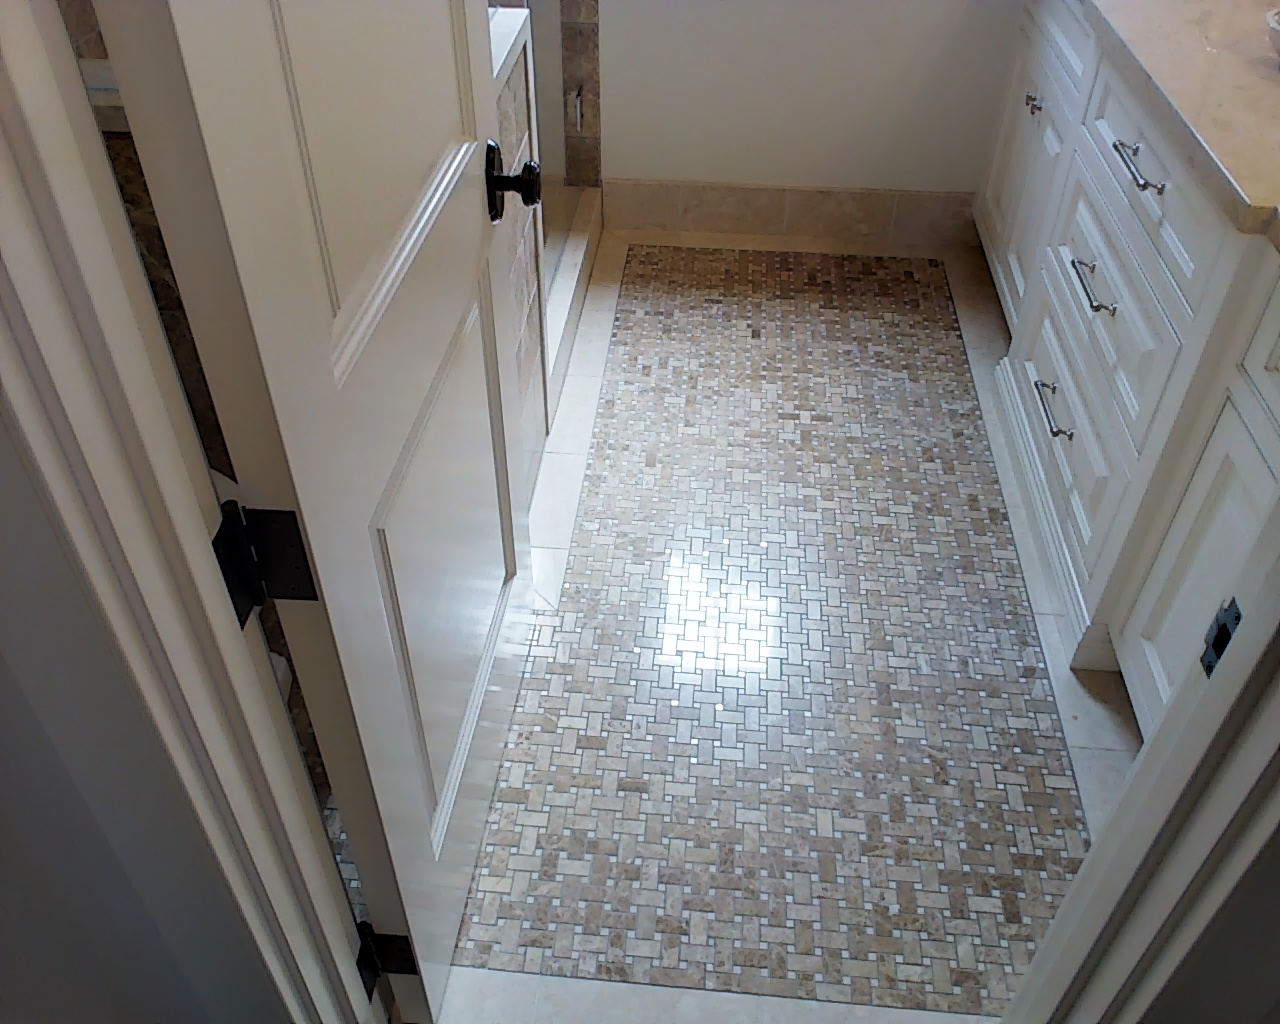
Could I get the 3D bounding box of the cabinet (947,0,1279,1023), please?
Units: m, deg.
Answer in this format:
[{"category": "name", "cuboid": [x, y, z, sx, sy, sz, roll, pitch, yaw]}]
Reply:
[{"category": "cabinet", "cuboid": [1.120, -0.310, 1.960, 0.620, 0.970, 2.370, 4, 41, 4]}]
